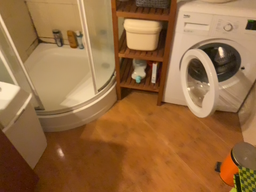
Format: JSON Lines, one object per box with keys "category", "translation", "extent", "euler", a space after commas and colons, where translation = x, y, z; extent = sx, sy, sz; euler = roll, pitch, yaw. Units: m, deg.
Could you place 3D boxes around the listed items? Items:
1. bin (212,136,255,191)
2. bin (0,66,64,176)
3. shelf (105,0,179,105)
{"category": "bin", "translation": [0.660, 0.440, 1.250], "extent": [0.220, 0.300, 0.250], "euler": [8, 48, 8]}
{"category": "bin", "translation": [-0.770, 0.160, 1.340], "extent": [0.470, 0.580, 0.390], "euler": [7, 48, 7]}
{"category": "shelf", "translation": [0.120, -0.600, 1.480], "extent": [0.410, 1.360, 0.520], "euler": [7, 48, 7]}
